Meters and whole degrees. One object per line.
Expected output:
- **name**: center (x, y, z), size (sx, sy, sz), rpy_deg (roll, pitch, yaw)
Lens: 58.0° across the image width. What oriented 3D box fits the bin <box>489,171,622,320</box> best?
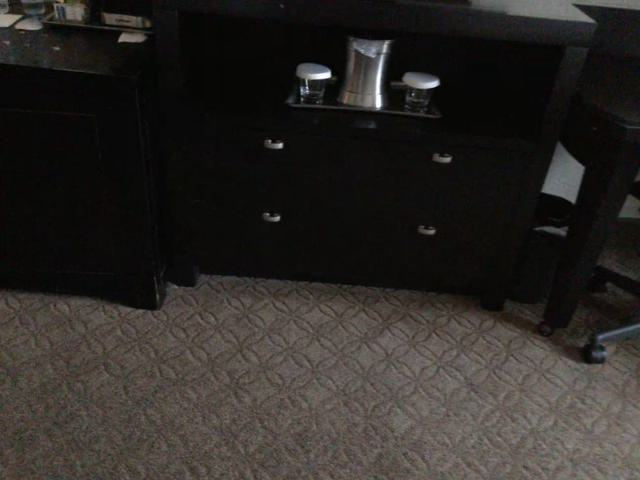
- **bin**: center (0.770, 0.010, 1.960), size (0.230, 0.330, 0.390), rpy_deg (4, 34, -2)
